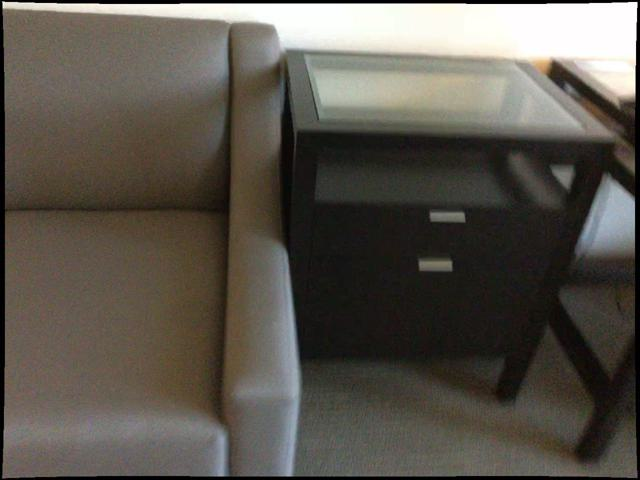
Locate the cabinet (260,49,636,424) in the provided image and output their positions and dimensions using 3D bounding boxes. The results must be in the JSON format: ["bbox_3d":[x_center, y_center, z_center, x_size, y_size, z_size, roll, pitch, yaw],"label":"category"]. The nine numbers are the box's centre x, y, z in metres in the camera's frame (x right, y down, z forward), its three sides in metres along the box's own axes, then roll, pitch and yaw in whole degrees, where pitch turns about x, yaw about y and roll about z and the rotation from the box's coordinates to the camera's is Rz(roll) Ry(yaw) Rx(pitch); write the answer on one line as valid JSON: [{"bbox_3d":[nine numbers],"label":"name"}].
[{"bbox_3d":[0.219,-0.020,1.590,0.728,0.811,0.580,-2,36,-9],"label":"cabinet"}]
